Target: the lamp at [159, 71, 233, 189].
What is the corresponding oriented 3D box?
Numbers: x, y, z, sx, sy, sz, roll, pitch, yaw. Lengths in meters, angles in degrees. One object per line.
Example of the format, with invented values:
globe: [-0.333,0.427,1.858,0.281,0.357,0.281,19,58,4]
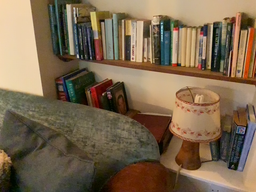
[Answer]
lamp: [0.330,0.130,1.030,0.230,0.380,0.390,11,26,19]
